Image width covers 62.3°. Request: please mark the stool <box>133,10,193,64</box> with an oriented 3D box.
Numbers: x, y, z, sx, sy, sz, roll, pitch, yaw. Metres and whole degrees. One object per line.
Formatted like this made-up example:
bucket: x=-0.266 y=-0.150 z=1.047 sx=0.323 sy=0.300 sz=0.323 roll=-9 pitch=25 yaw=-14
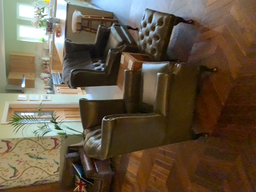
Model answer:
stool: x=0.360 y=-0.670 z=2.390 sx=0.540 sy=0.340 sz=0.450 roll=-131 pitch=48 yaw=-56
